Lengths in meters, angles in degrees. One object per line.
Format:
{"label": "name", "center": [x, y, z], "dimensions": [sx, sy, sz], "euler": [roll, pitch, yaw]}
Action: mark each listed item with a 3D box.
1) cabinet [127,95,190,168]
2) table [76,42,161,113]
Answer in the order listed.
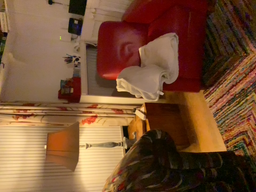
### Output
{"label": "cabinet", "center": [0.280, 0.390, 2.270], "dimensions": [0.550, 0.370, 0.570], "euler": [119, 148, -51]}
{"label": "table", "center": [-0.160, -0.230, 2.710], "dimensions": [0.270, 0.960, 0.840], "euler": [119, 148, -51]}
